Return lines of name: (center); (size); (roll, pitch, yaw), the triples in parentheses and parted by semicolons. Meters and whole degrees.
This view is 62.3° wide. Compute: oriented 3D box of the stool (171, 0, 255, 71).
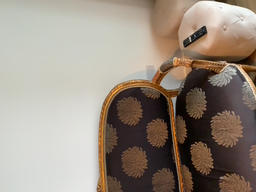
stool: (0.620, -0.410, 1.480); (0.360, 0.450, 0.380); (-21, 73, 62)

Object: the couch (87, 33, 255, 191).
couch: (0.400, 0.570, 1.360); (0.850, 1.010, 1.570); (-18, 76, 62)

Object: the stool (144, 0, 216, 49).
stool: (0.440, -0.660, 1.830); (0.330, 0.450, 0.370); (-21, 73, 62)
